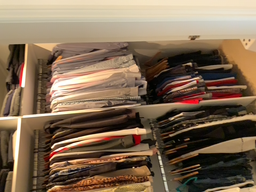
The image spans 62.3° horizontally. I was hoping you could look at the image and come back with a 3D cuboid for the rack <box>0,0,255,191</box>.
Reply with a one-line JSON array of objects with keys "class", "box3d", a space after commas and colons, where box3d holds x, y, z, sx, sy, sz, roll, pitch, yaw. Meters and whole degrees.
[{"class": "rack", "box3d": [0.090, -0.150, 2.010, 0.520, 2.020, 2.220, 105, 158, -60]}]
